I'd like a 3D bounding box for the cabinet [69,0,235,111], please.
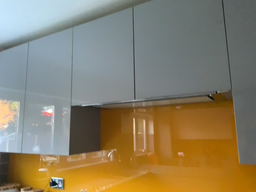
[{"bbox_3d":[0.110,-0.250,1.390,0.990,0.610,0.350,-7,-11,29],"label":"cabinet"}]
